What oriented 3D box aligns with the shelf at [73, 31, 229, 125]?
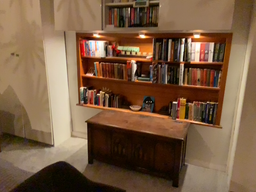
[{"bbox_3d":[0.170,-0.280,2.620,1.840,0.990,0.200,7,16,21],"label":"shelf"}]
